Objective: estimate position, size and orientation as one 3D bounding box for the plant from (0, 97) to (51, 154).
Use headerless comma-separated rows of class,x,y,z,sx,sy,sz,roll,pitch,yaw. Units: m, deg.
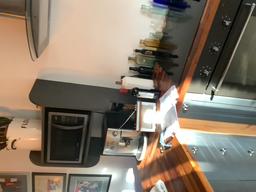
plant,-0.930,0.240,1.700,0.210,0.550,0.400,-106,26,-56
